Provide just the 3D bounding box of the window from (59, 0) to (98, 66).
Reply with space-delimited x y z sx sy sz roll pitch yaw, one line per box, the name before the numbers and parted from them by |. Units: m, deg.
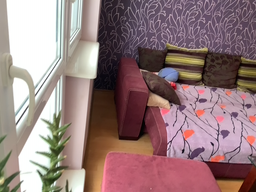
window | -0.290 -0.970 1.470 0.200 1.300 0.830 5 26 -10
